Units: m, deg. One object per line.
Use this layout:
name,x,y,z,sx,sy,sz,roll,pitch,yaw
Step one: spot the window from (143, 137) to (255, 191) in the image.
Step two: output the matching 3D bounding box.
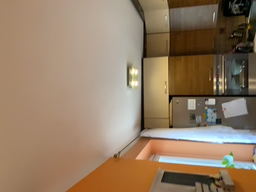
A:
window,0.950,0.810,2.550,1.190,1.340,0.360,5,-94,-76
